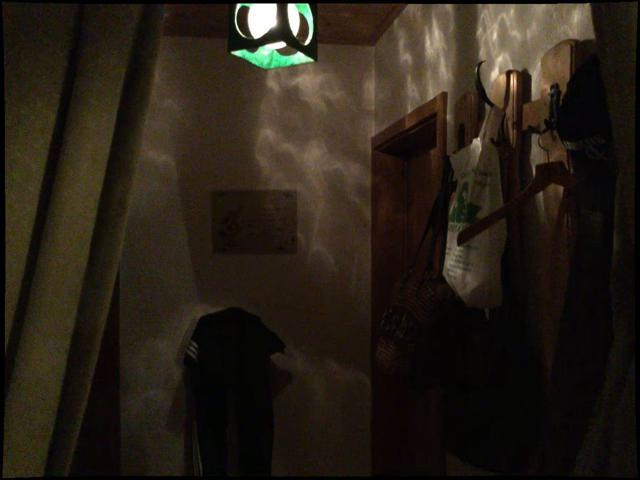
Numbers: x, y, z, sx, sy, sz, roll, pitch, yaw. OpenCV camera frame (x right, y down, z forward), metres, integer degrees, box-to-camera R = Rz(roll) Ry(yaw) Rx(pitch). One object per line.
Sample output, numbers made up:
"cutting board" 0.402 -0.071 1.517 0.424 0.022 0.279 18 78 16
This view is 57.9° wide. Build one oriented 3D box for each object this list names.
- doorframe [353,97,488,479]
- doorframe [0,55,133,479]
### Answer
"doorframe" 0.370 0.480 2.410 0.250 1.952 0.830 0 2 -11
"doorframe" -0.899 0.490 2.130 0.270 2.022 1.030 0 2 -11
